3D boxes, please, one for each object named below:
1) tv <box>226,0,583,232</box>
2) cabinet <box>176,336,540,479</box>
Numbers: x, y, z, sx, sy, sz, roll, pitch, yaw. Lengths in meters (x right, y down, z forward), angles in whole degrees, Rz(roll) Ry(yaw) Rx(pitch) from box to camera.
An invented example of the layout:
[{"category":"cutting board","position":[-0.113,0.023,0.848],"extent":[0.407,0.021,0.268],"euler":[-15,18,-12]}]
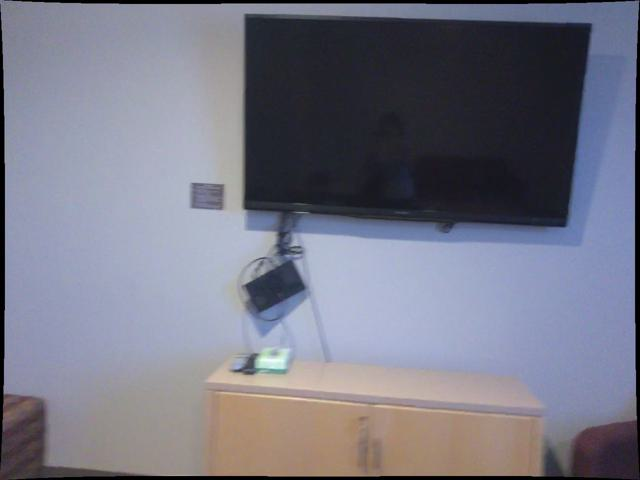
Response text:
[{"category":"tv","position":[0.319,-0.511,2.420],"extent":[1.368,0.881,0.250],"euler":[3,5,5]},{"category":"cabinet","position":[0.130,0.871,2.330],"extent":[1.268,0.771,0.550],"euler":[3,5,5]}]
